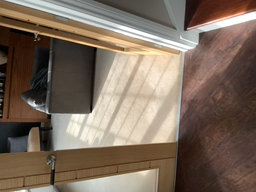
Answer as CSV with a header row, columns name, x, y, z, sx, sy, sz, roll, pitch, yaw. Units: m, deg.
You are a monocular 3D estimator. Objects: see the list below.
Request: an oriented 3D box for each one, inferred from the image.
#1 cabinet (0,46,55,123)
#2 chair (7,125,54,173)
name,x,y,z,sx,sy,sz,roll,pitch,yaw
cabinet,-2.250,-0.220,4.760,0.550,0.940,1.550,5,91,55
chair,-2.140,1.150,4.600,0.880,0.750,0.740,-42,53,45
